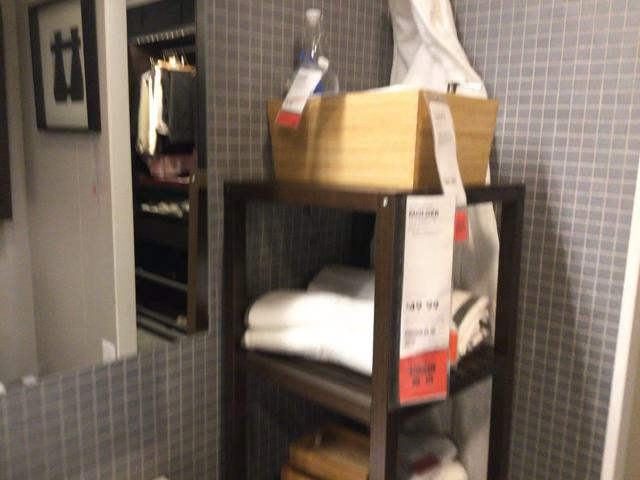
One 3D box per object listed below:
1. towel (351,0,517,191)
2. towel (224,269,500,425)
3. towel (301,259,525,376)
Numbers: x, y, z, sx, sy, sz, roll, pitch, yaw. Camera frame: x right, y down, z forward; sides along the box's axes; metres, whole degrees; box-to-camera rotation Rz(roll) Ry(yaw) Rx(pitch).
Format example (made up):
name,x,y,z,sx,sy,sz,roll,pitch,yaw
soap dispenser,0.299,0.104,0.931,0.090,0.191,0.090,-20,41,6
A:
name,x,y,z,sx,sy,sz,roll,pitch,yaw
towel,0.220,-0.340,1.150,0.150,0.470,0.270,-5,10,-43
towel,0.050,0.150,0.970,0.220,0.120,0.420,-5,10,-43
towel,0.170,0.130,1.120,0.240,0.120,0.350,-5,10,-43
